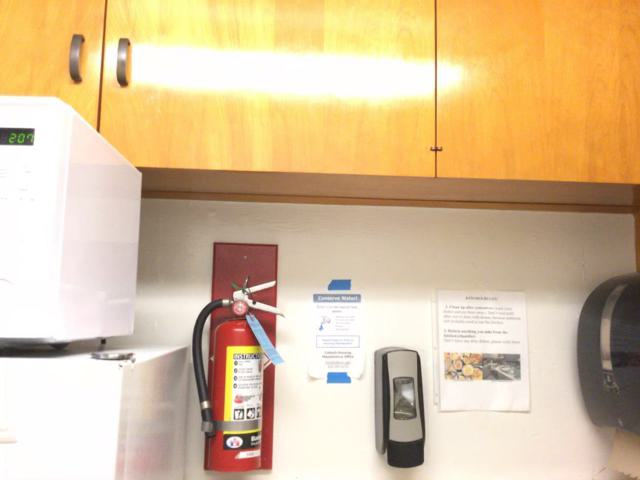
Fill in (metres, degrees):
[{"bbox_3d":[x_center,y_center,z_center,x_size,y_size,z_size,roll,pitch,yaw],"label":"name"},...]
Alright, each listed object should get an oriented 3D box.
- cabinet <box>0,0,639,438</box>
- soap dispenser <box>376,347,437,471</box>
[{"bbox_3d":[0.080,-0.170,1.210,2.290,1.040,0.360,1,-7,-5],"label":"cabinet"},{"bbox_3d":[0.190,0.370,1.290,0.110,0.250,0.100,1,-7,-5],"label":"soap dispenser"}]
